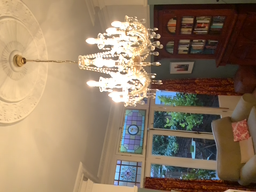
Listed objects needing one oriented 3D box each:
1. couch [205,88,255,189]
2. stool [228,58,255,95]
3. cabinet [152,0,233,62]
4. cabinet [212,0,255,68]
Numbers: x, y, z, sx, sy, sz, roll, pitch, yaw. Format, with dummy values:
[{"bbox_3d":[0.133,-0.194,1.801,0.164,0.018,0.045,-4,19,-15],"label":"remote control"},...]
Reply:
[{"bbox_3d":[1.900,0.710,3.470,1.120,0.900,1.230,81,-165,-54],"label":"couch"},{"bbox_3d":[2.410,-0.400,4.490,0.550,0.350,0.550,79,-164,-58],"label":"stool"},{"bbox_3d":[1.050,-1.170,3.820,1.230,1.190,0.350,79,-164,-57],"label":"cabinet"},{"bbox_3d":[2.050,-1.060,3.640,1.190,0.860,0.460,79,-164,-57],"label":"cabinet"}]
